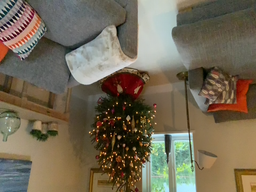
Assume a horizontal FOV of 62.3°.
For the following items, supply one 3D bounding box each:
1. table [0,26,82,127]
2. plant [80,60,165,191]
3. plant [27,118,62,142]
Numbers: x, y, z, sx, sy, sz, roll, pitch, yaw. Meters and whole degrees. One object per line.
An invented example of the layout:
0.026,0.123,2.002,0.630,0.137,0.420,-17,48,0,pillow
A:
-1.400,-0.180,2.890,0.440,0.860,1.790,-8,159,25,table
-0.130,0.630,3.480,0.990,1.980,1.100,8,160,-18,plant
-1.260,0.530,3.240,0.230,0.280,0.410,-8,159,26,plant
